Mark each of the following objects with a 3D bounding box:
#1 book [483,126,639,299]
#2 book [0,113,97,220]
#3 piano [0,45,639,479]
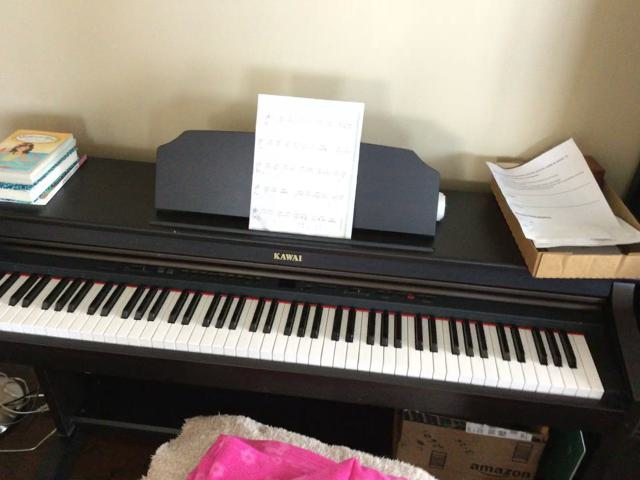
[{"bbox_3d":[0.500,-0.070,1.180,0.260,0.160,0.350,6,37,4],"label":"book"},{"bbox_3d":[-0.640,-0.170,1.280,0.170,0.110,0.250,6,37,4],"label":"book"},{"bbox_3d":[-0.050,0.220,1.350,1.460,1.070,0.510,6,37,4],"label":"piano"}]
